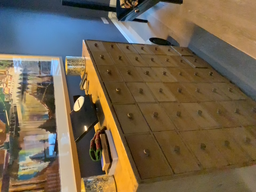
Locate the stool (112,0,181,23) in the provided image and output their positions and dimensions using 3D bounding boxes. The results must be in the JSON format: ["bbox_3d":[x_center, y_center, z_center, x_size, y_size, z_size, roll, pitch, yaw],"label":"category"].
[{"bbox_3d":[0.180,-1.190,2.580,0.910,0.480,0.320,-168,78,-68],"label":"stool"}]
